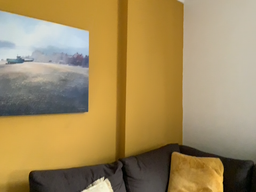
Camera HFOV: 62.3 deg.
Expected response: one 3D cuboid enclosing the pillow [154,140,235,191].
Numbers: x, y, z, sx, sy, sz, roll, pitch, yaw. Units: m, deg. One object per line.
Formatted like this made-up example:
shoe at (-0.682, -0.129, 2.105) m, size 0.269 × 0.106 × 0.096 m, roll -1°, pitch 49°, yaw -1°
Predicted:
pillow at (0.570, 0.730, 1.880) m, size 0.490 × 0.460 × 0.160 m, roll -36°, pitch -26°, yaw 9°
